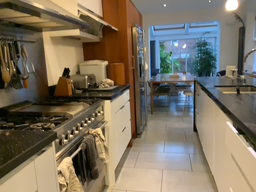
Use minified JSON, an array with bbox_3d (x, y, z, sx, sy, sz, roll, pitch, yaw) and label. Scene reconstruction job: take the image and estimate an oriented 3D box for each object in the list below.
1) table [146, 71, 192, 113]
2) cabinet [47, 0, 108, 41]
[{"bbox_3d":[1.220,-0.210,5.940,1.030,0.780,2.340,1,11,15],"label":"table"},{"bbox_3d":[-0.580,-1.030,2.620,0.400,0.610,0.830,0,10,12],"label":"cabinet"}]
